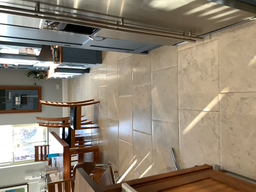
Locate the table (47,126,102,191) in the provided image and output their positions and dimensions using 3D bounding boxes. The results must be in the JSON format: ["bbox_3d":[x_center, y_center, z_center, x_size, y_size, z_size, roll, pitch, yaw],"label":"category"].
[{"bbox_3d":[-1.350,1.470,4.960,2.080,0.780,1.230,0,90,62],"label":"table"}]

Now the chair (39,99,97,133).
[{"bbox_3d":[-1.240,0.380,4.400,0.480,1.070,0.600,11,100,62],"label":"chair"}]

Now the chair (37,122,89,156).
[{"bbox_3d":[-1.490,0.950,4.880,0.510,1.070,0.590,5,94,62],"label":"chair"}]
